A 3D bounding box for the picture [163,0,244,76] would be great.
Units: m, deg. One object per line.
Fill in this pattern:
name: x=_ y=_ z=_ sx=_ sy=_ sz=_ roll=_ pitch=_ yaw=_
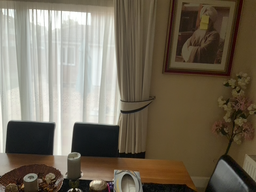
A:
picture: x=0.760 y=-0.630 z=2.170 sx=0.720 sy=0.810 sz=0.030 roll=3 pitch=14 yaw=-2
